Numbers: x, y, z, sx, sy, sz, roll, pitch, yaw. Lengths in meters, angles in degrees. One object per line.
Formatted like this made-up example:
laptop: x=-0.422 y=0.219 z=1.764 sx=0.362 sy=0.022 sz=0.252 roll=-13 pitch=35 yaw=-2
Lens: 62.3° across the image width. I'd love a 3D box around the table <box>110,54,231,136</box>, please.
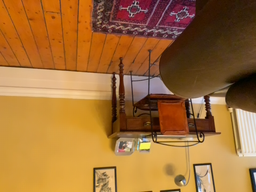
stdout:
table: x=0.430 y=0.040 z=2.410 sx=1.190 sy=0.770 sz=0.510 roll=3 pitch=165 yaw=-15
